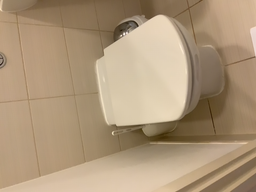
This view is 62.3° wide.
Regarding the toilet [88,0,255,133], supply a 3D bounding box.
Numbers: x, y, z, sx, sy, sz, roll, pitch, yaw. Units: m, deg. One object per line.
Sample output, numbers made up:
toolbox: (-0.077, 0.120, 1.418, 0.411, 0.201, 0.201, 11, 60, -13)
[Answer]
toilet: (0.160, -0.080, 0.950, 0.550, 0.410, 0.380, -18, 81, 53)
